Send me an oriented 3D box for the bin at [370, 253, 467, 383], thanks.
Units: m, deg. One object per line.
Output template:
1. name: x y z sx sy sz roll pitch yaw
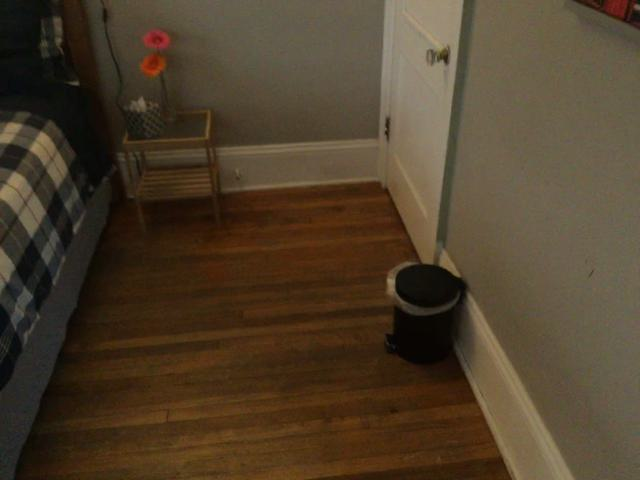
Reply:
1. bin: 0.320 0.260 1.970 0.230 0.330 0.270 -2 31 -7

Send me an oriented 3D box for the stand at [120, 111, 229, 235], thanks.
1. stand: -0.650 -0.320 2.700 0.420 0.450 0.380 -2 31 -7

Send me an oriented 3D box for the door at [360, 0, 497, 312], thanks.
1. door: 0.370 -0.930 2.080 0.130 2.160 1.050 -2 31 -7
